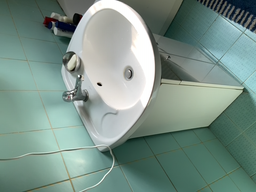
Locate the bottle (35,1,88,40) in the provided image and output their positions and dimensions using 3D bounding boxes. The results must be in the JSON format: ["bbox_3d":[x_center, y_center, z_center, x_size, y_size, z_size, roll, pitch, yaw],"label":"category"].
[{"bbox_3d":[-0.420,-0.470,1.340,0.110,0.260,0.170,-54,53,33],"label":"bottle"}]
